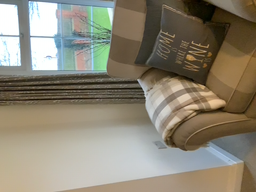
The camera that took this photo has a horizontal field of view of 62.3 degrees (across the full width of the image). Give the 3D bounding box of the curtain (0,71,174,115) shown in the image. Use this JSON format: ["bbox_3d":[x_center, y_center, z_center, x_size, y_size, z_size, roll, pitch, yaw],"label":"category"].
[{"bbox_3d":[-0.540,-0.060,2.360,0.180,2.240,0.410,-151,60,-69],"label":"curtain"}]

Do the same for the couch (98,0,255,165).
[{"bbox_3d":[0.390,-0.370,1.420,1.020,0.950,1.090,-115,28,-50],"label":"couch"}]
